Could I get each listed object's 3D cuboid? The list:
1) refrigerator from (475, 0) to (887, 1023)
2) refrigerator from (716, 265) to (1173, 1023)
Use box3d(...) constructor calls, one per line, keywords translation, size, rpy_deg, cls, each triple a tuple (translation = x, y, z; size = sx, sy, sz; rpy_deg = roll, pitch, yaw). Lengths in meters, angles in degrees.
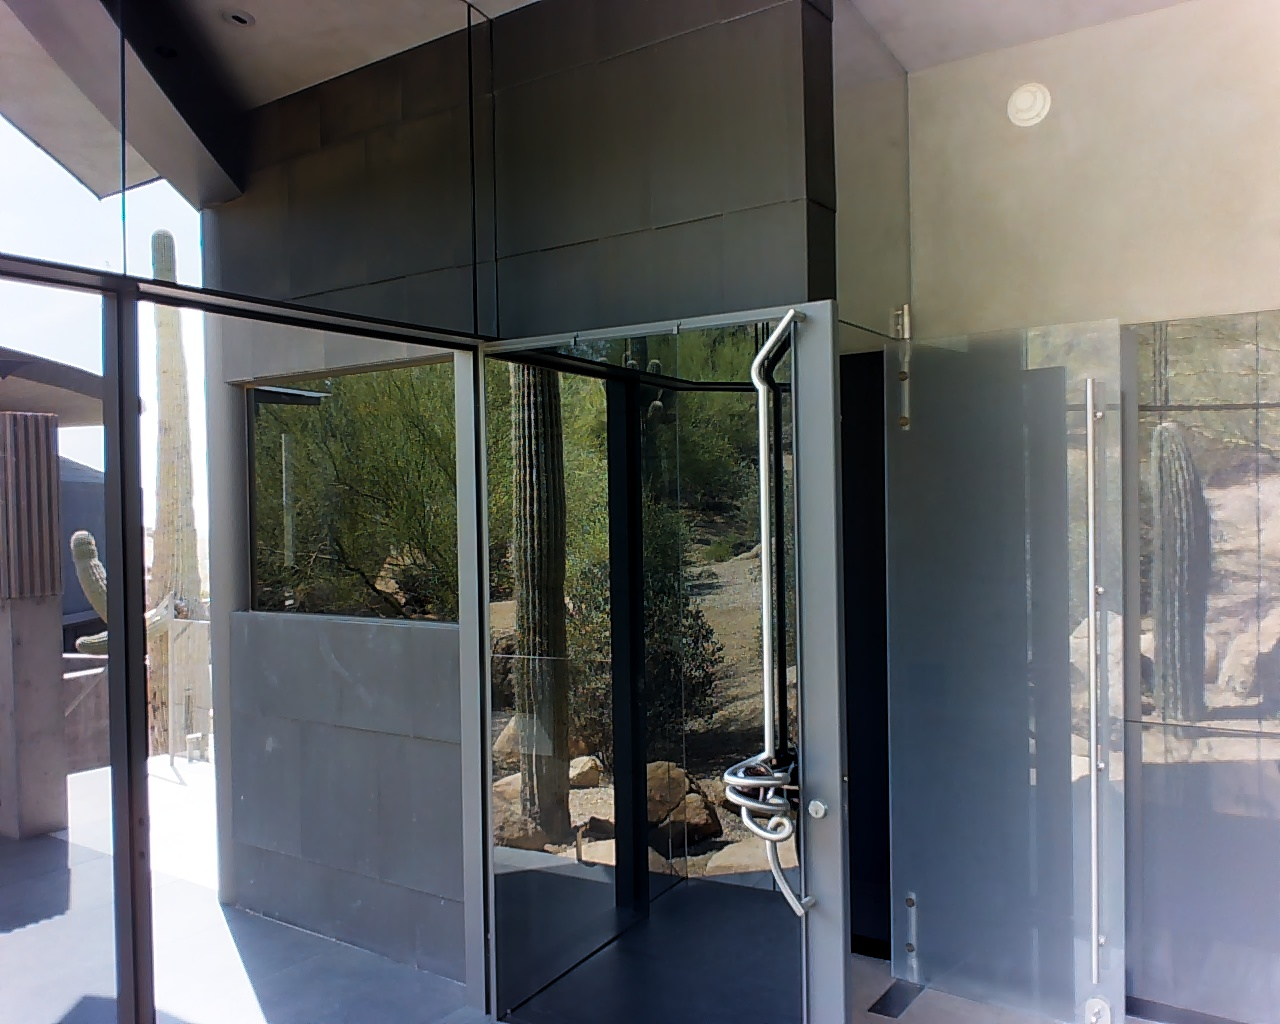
box3d(translation=(0.090, 0.000, 3.210), size=(1.180, 3.131, 0.390), rpy_deg=(-1, 0, 35), cls="refrigerator")
box3d(translation=(0.950, 0.420, 3.570), size=(1.440, 2.241, 0.250), rpy_deg=(-1, 0, 35), cls="refrigerator")
